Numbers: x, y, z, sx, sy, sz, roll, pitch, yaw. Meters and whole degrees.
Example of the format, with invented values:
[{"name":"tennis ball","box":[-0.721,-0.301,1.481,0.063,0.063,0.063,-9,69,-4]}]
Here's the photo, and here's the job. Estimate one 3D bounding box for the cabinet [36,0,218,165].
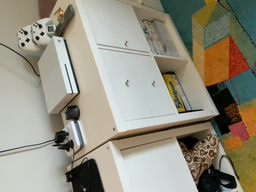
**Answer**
[{"name":"cabinet","box":[-0.020,-0.120,1.260,0.480,0.750,0.780,-36,65,41]}]
